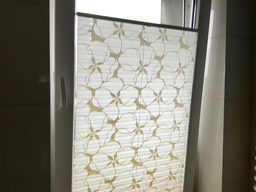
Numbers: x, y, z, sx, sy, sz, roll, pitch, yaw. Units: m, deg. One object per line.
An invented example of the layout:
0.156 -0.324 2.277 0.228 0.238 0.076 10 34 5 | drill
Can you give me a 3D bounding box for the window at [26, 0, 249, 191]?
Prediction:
0.090 0.060 0.930 0.960 1.520 0.240 -1 3 -27 | window
